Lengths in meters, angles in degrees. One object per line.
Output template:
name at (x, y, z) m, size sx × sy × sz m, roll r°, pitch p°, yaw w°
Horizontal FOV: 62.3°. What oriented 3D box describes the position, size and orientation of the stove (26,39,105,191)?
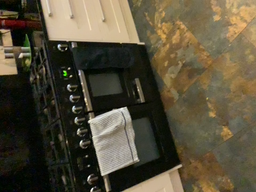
stove at (-0.520, 0.230, 1.610) m, size 0.620 × 0.190 × 1.110 m, roll -29°, pitch 74°, yaw 52°
